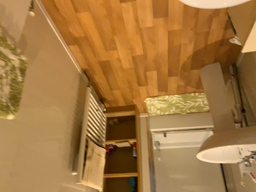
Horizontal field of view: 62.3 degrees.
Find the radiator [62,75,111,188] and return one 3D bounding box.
[{"bbox_3d":[-0.330,0.360,1.980,0.160,0.850,0.690,-6,151,9],"label":"radiator"}]

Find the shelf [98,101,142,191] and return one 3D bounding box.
[{"bbox_3d":[-0.080,0.620,2.450,0.420,1.060,0.300,-6,151,8],"label":"shelf"}]

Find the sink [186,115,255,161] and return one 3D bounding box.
[{"bbox_3d":[0.700,0.340,1.600,0.440,0.170,0.540,-5,151,7],"label":"sink"}]
